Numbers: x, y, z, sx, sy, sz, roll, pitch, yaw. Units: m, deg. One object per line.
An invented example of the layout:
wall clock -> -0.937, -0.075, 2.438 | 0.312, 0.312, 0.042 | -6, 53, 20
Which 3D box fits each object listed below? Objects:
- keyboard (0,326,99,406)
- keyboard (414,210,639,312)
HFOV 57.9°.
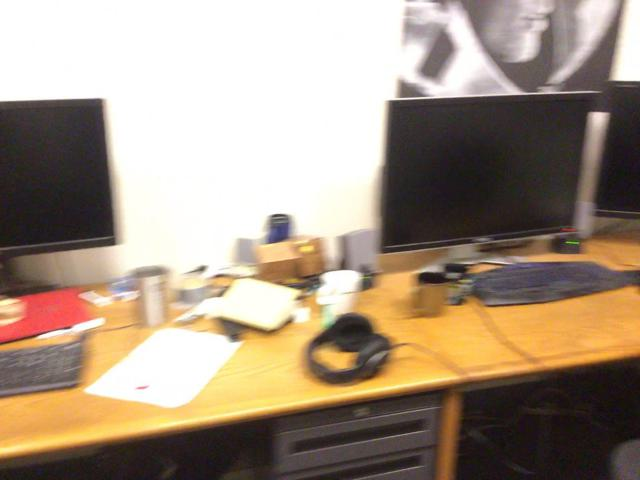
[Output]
keyboard -> -0.720, 0.280, 1.220 | 0.450, 0.040, 0.230 | -6, 18, -13
keyboard -> 0.640, 0.040, 1.770 | 0.550, 0.100, 0.490 | -6, 18, -13
